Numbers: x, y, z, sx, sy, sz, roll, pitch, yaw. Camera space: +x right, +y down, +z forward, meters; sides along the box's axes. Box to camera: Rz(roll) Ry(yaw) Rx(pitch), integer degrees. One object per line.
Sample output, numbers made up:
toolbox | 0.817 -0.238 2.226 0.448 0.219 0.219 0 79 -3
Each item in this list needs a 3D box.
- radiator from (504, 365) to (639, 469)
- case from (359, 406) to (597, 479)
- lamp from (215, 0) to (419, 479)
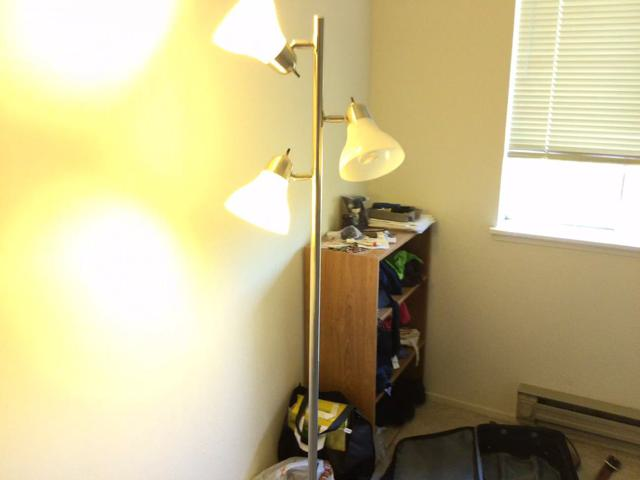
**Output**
radiator | 1.510 0.750 2.050 1.650 0.270 0.120 5 16 31
case | 0.570 0.880 2.080 0.770 0.170 0.610 2 15 20
lamp | 0.040 0.290 1.400 0.290 1.640 0.310 5 16 31
